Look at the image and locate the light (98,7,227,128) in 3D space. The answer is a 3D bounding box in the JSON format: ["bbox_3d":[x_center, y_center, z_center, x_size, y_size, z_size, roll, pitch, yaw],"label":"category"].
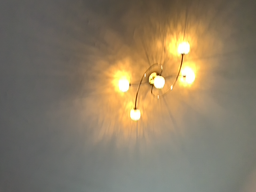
[{"bbox_3d":[0.320,-0.220,1.900,0.960,0.070,0.670,-32,-72,5],"label":"light"}]
